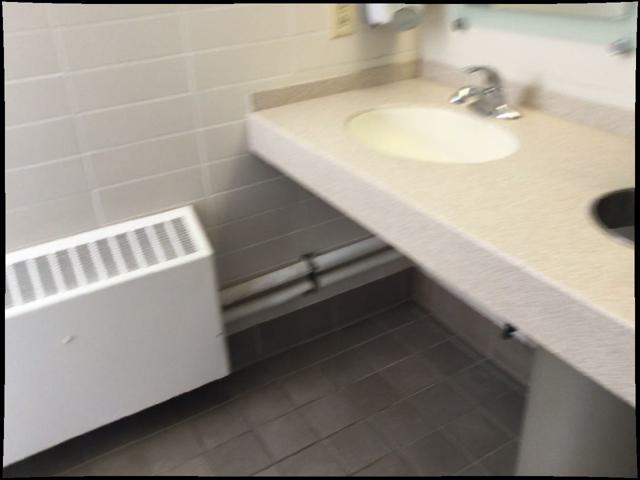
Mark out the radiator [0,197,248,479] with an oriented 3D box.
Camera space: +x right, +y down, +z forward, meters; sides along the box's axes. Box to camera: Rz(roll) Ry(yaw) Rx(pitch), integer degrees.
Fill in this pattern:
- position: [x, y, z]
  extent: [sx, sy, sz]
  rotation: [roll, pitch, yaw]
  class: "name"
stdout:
- position: [-0.669, 0.280, 1.560]
  extent: [0.869, 0.540, 0.190]
  rotation: [-19, 32, -23]
  class: "radiator"
